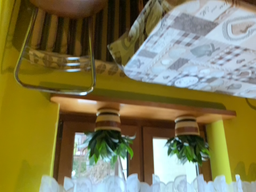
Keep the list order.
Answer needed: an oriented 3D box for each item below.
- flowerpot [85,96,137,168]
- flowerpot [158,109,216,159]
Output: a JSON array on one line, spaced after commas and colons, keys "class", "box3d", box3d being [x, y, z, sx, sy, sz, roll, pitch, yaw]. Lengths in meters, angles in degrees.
[{"class": "flowerpot", "box3d": [-0.100, 0.230, 1.270, 0.240, 0.380, 0.210, 9, 158, -22]}, {"class": "flowerpot", "box3d": [0.410, 0.290, 1.530, 0.260, 0.300, 0.270, 9, 158, -22]}]
